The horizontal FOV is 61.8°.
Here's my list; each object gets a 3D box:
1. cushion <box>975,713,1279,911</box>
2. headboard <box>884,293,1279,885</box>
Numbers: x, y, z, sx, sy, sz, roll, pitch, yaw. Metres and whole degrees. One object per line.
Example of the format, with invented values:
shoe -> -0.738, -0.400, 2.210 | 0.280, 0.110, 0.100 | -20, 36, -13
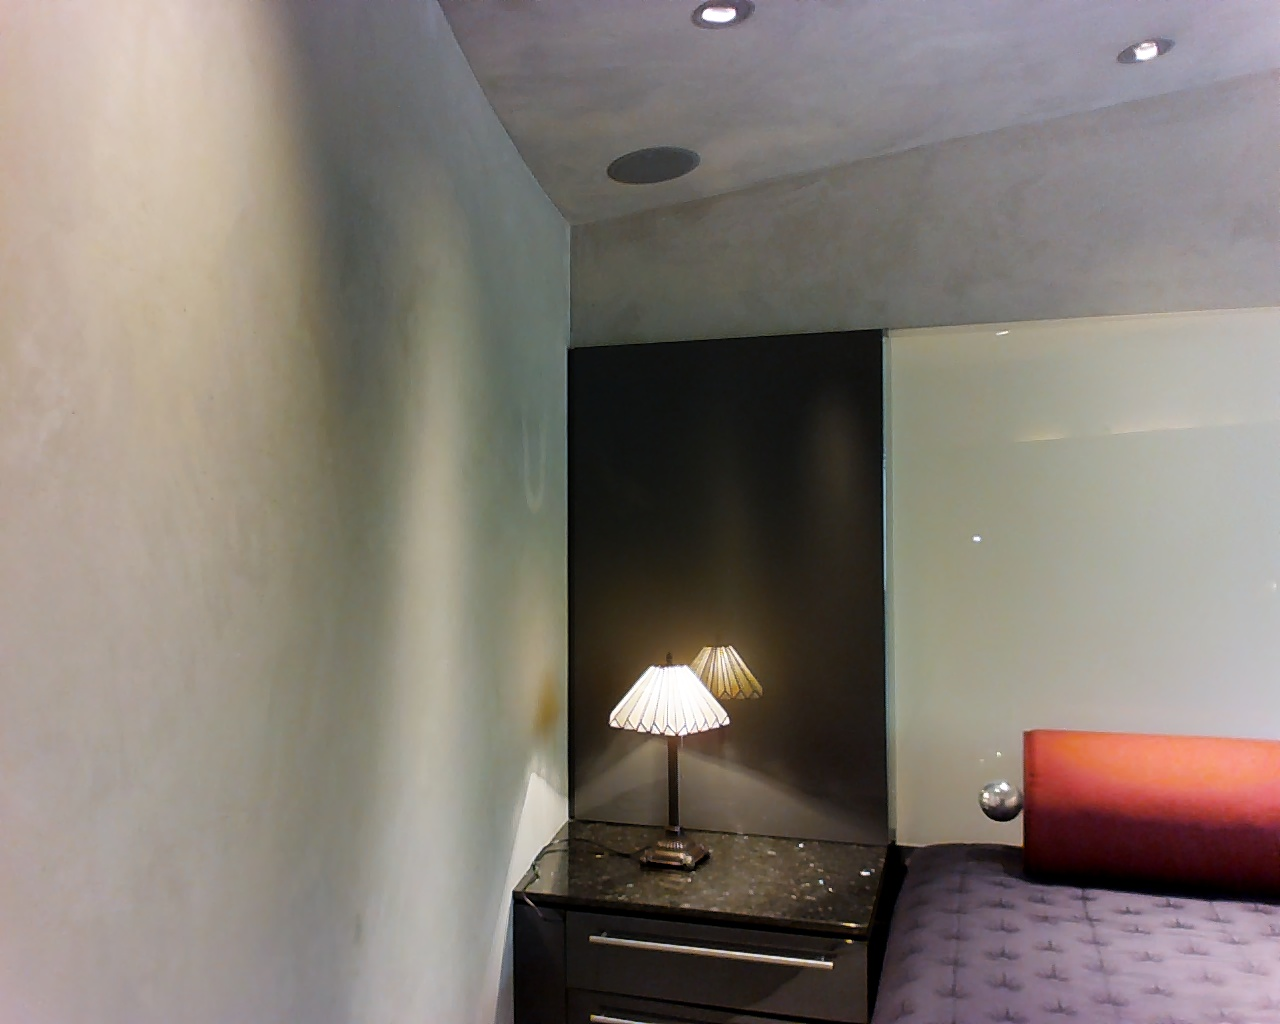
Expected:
cushion -> 1.420, 0.650, 2.310 | 1.300, 0.320, 0.350 | -1, -2, 22
headboard -> 1.500, 0.180, 2.630 | 1.710, 1.380, 0.260 | -1, -2, 18
